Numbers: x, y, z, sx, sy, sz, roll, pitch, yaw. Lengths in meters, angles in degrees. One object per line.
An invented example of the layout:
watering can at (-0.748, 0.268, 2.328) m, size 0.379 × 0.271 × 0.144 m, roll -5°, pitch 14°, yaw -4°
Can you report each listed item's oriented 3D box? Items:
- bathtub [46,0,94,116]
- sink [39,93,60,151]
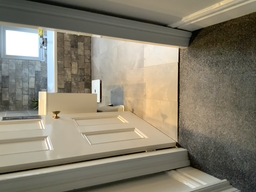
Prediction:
bathtub at (-0.960, -0.850, 3.430) m, size 0.810 × 0.560 × 2.230 m, roll 4°, pitch 93°, yaw 61°
sink at (-0.800, 0.220, 2.120) m, size 0.610 × 0.100 × 0.490 m, roll 3°, pitch 93°, yaw 61°
